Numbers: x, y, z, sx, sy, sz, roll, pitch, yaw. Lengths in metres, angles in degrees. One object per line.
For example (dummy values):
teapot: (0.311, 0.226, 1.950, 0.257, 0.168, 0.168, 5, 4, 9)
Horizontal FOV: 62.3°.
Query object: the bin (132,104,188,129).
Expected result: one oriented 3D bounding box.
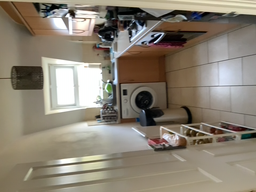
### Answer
bin: (0.460, 0.290, 3.160, 0.470, 0.680, 0.280, -173, 81, -76)
